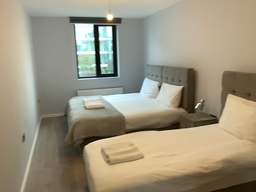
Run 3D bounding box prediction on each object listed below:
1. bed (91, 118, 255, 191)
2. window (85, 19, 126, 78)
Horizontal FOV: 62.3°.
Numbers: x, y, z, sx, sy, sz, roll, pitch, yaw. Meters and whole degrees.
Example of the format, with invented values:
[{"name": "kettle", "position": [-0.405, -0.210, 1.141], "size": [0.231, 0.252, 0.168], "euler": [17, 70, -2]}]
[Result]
[{"name": "bed", "position": [0.670, 0.750, 2.320], "size": [2.000, 0.550, 1.000], "euler": [-4, 12, -15]}, {"name": "window", "position": [-0.560, -1.230, 5.560], "size": [1.020, 1.460, 0.050], "euler": [-5, 12, -15]}]
